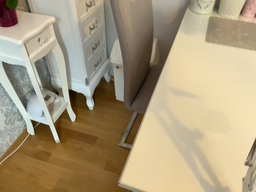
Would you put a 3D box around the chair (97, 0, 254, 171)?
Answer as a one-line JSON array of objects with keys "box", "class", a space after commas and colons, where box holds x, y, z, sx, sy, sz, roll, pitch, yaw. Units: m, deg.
[{"box": [0.200, -0.110, 1.200, 0.510, 1.000, 0.490, 14, 46, 13], "class": "chair"}]

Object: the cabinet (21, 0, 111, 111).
[{"box": [-0.370, -0.430, 1.480, 0.330, 1.030, 0.430, 15, 46, 13], "class": "cabinet"}]

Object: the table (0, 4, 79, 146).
[{"box": [-0.540, -0.080, 1.290, 0.260, 0.800, 0.300, 15, 46, 13], "class": "table"}]
